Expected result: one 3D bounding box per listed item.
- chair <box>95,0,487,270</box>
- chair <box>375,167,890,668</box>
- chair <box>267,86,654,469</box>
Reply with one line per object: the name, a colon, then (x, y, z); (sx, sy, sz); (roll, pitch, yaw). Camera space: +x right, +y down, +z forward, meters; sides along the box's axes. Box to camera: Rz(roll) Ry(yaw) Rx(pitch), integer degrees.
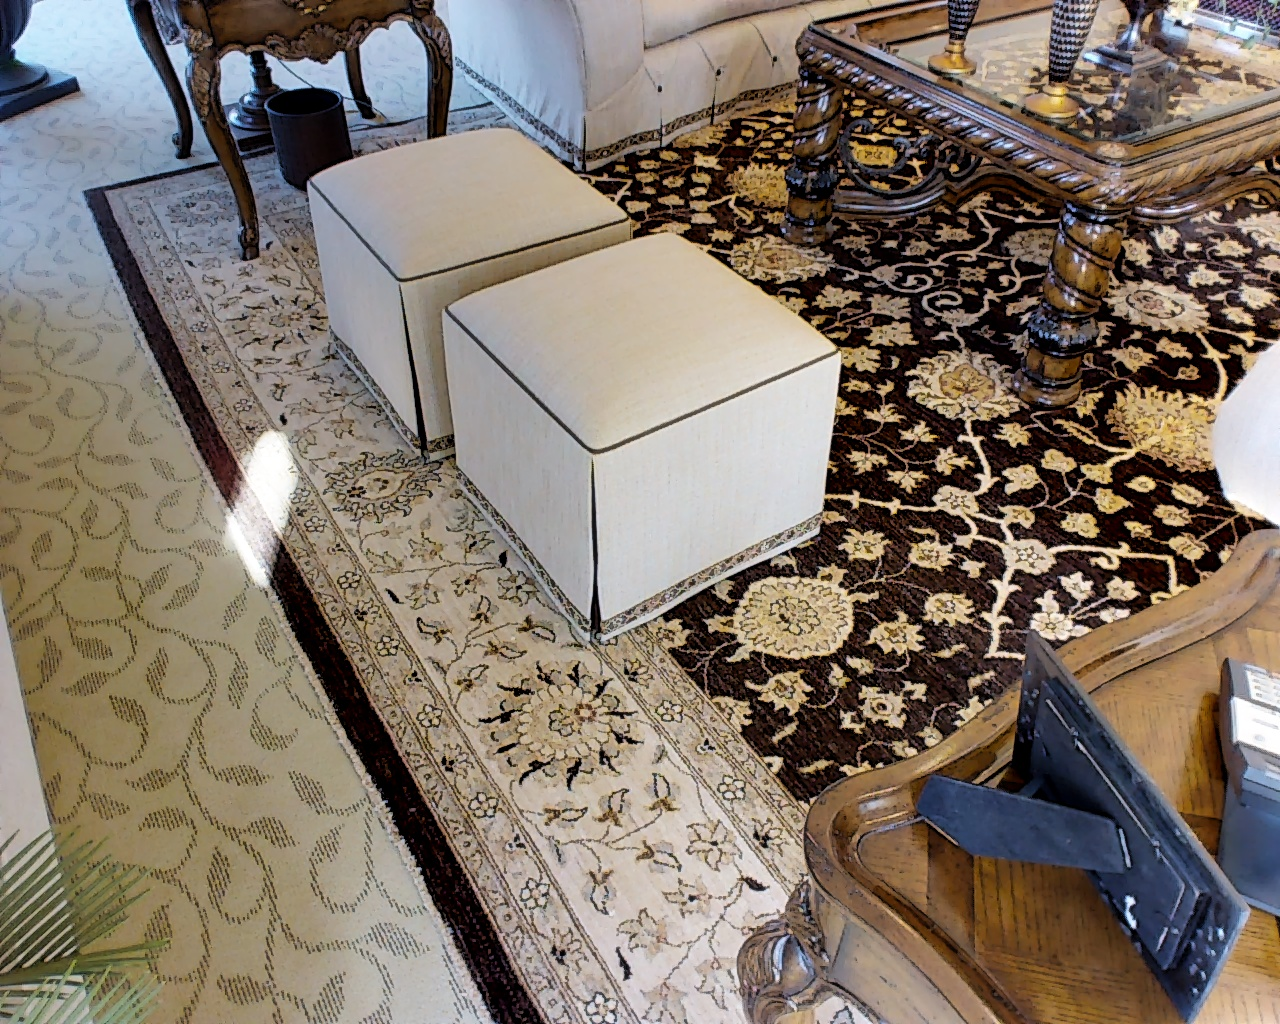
chair: (-1.050, -1.340, 3.110); (0.810, 0.740, 0.950); (-21, 46, -22)
chair: (-0.030, -0.220, 2.030); (0.650, 0.520, 0.650); (-23, 46, -24)
chair: (-0.390, -0.560, 2.420); (0.600, 0.510, 0.600); (-25, 47, -26)
